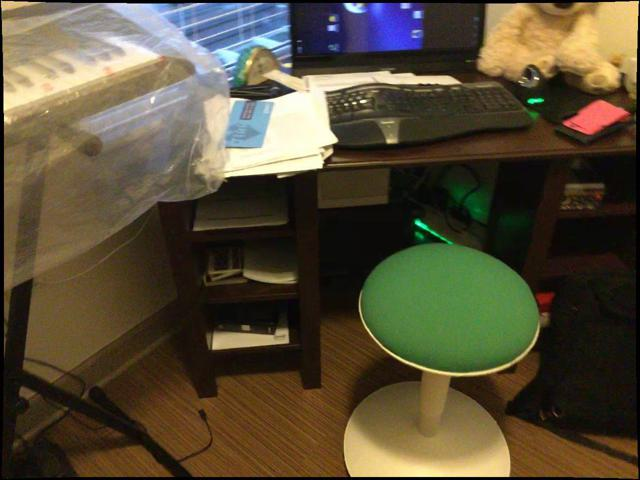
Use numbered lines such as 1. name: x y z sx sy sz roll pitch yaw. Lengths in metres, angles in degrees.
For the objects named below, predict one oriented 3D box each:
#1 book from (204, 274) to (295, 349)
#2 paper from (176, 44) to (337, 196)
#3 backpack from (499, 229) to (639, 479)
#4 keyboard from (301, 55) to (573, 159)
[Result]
1. book: -0.190 0.190 1.570 0.229 0.060 0.200 -5 38 -3
2. paper: -0.140 -0.271 1.230 0.289 0.140 0.370 -7 39 -6
3. backpack: 0.738 0.281 1.410 0.400 0.361 0.380 26 46 31
4. keyboard: 0.239 -0.311 1.300 0.529 0.060 0.300 -7 39 -6
